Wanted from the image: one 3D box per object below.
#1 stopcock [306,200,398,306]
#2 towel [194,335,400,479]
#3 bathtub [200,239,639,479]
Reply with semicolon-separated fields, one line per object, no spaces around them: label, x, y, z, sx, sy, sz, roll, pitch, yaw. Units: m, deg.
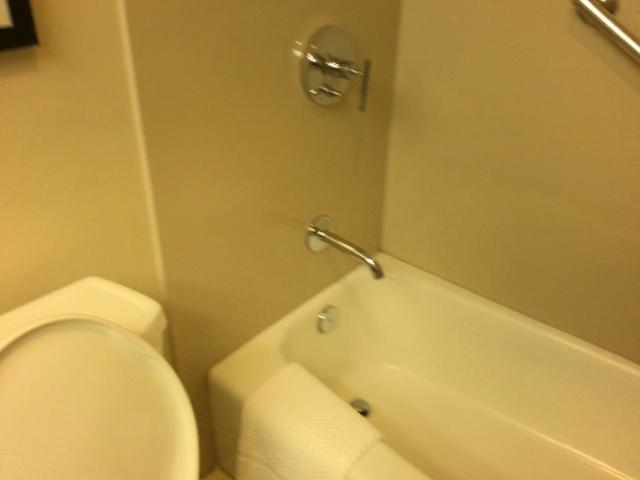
stopcock;0.090;0.030;1.610;0.130;0.180;0.240;23;38;32
towel;-0.060;0.510;1.380;0.410;0.360;0.230;24;38;33
bathtub;0.500;0.560;1.290;1.440;0.390;0.750;26;39;35
